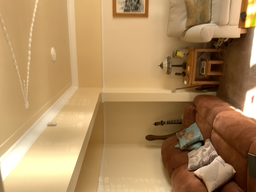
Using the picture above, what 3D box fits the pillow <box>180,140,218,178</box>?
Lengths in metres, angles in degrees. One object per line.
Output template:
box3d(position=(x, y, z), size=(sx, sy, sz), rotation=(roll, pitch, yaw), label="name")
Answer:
box3d(position=(0.920, 0.820, 2.790), size=(0.180, 0.350, 0.320), rotation=(47, -173, -9), label="pillow")

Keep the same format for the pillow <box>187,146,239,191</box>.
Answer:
box3d(position=(0.950, 0.850, 2.420), size=(0.210, 0.360, 0.410), rotation=(50, -174, -12), label="pillow")

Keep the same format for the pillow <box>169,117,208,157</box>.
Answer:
box3d(position=(0.920, 0.620, 3.280), size=(0.250, 0.410, 0.430), rotation=(46, -173, -11), label="pillow")

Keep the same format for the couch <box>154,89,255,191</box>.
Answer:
box3d(position=(1.060, 0.820, 2.470), size=(2.680, 1.000, 1.220), rotation=(-103, 13, -75), label="couch")
